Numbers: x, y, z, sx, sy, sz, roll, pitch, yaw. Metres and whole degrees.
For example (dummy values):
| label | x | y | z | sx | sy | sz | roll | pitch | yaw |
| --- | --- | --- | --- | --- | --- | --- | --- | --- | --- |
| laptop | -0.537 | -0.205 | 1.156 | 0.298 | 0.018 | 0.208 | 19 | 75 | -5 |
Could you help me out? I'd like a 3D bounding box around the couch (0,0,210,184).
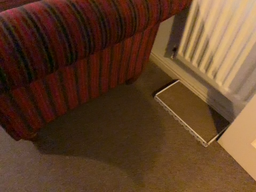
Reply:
| label | x | y | z | sx | sy | sz | roll | pitch | yaw |
| --- | --- | --- | --- | --- | --- | --- | --- | --- | --- |
| couch | -0.470 | -0.520 | 1.180 | 0.970 | 0.860 | 1.400 | -31 | 60 | -24 |
